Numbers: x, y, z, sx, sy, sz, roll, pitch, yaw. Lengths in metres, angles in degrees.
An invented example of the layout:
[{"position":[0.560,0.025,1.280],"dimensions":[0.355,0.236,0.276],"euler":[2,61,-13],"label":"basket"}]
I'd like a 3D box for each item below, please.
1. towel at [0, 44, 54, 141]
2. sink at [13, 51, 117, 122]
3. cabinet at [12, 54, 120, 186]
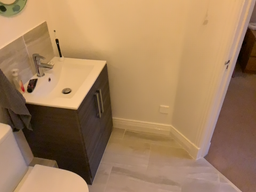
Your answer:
[{"position":[-0.640,0.000,1.240],"dimensions":[0.240,0.580,0.140],"euler":[7,38,11],"label":"towel"},{"position":[-0.410,-0.120,1.590],"dimensions":[0.470,0.120,0.700],"euler":[7,38,12],"label":"sink"},{"position":[-0.410,0.180,1.800],"dimensions":[0.470,0.790,0.700],"euler":[7,38,12],"label":"cabinet"}]
